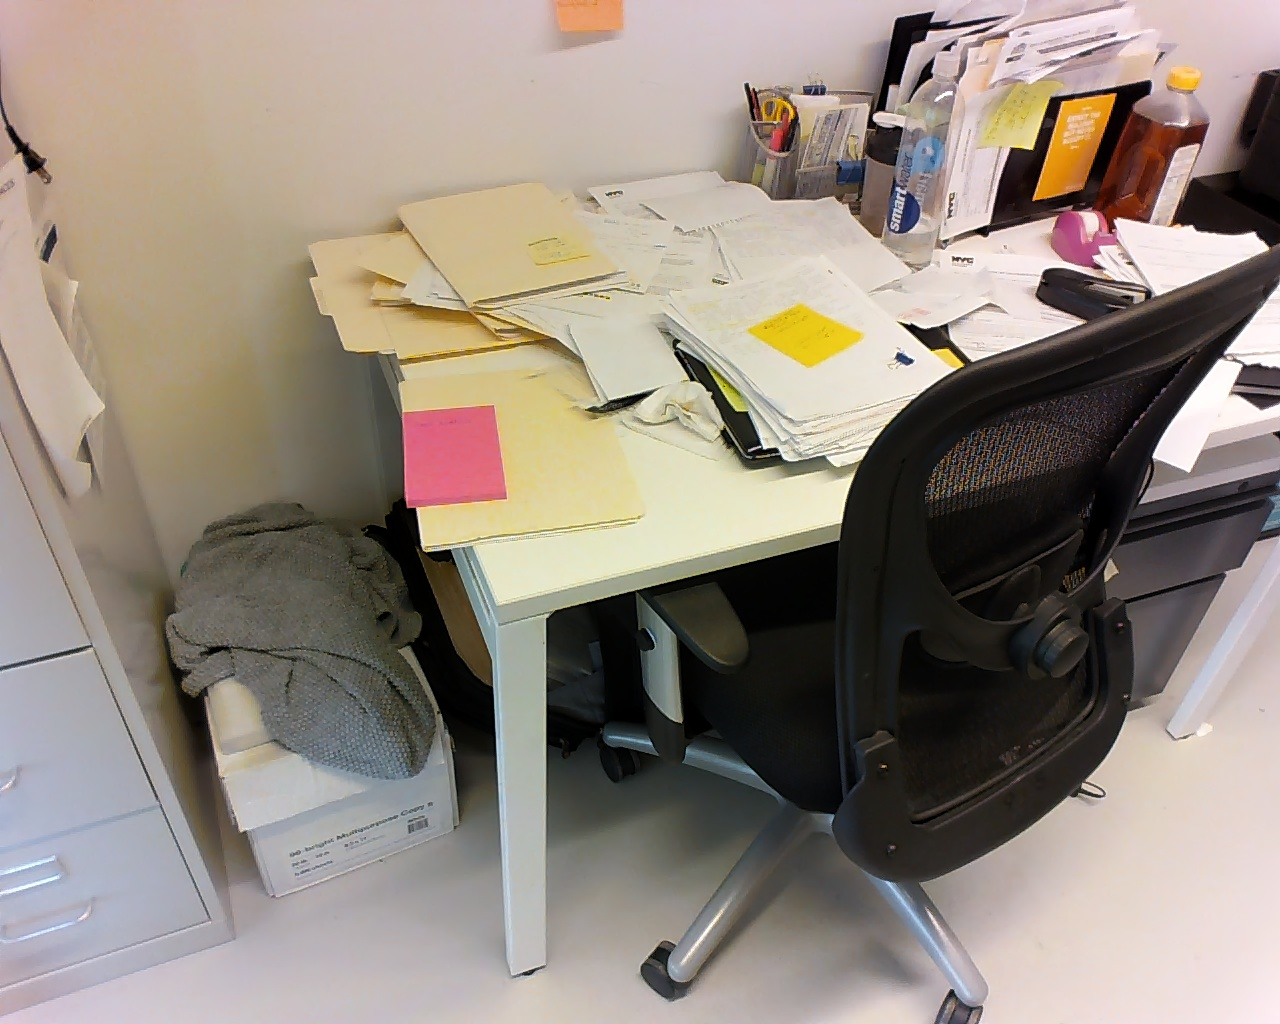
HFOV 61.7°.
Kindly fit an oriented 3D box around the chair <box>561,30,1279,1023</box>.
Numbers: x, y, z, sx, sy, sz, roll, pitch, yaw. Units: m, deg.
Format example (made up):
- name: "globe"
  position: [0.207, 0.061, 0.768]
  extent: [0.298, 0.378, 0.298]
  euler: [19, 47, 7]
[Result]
- name: "chair"
  position: [0.350, 0.110, 1.320]
  extent: [0.650, 1.080, 0.680]
  euler: [-17, 44, -21]
